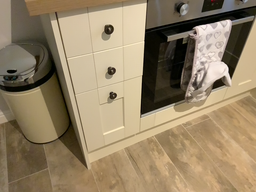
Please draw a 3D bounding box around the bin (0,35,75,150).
[{"bbox_3d":[-0.550,-0.020,1.240,0.310,0.500,0.350,-18,46,-18],"label":"bin"}]
